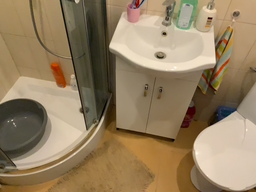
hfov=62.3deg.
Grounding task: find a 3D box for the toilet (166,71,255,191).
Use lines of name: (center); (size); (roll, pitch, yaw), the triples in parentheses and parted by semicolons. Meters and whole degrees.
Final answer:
toilet: (0.650, 0.270, 1.220); (0.670, 0.720, 0.360); (-26, 56, -23)
